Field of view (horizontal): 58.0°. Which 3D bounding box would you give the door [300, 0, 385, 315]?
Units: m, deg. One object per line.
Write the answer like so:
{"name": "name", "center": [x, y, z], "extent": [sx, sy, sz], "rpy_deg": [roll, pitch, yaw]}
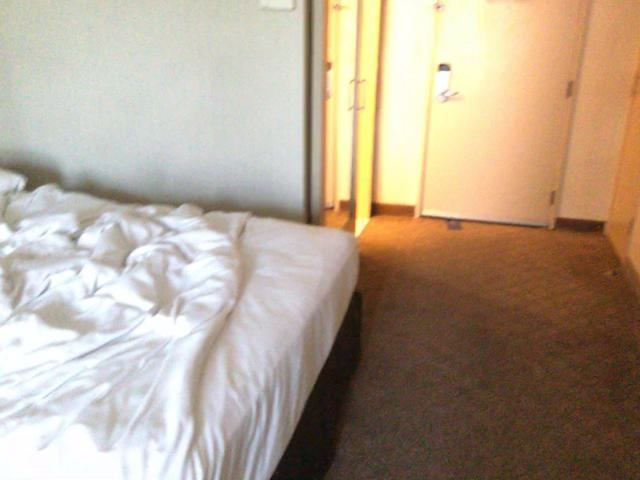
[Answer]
{"name": "door", "center": [0.150, -0.640, 3.120], "extent": [0.180, 1.750, 1.130], "rpy_deg": [5, 20, 14]}
